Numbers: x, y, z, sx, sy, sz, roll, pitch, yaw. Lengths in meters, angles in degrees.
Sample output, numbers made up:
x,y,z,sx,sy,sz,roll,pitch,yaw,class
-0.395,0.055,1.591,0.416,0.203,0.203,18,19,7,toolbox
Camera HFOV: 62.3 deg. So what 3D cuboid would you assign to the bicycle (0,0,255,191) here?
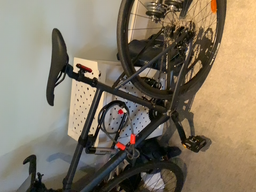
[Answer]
x,y,z,sx,sy,sz,roll,pitch,yaw,class
-0.030,0.120,1.090,0.570,0.930,1.760,32,114,37,bicycle
